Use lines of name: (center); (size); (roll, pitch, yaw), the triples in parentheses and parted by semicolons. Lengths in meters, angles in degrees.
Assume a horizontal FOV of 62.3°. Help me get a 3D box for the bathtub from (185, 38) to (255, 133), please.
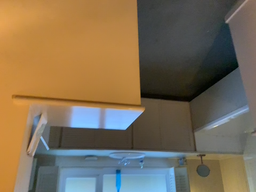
bathtub: (1.480, -0.020, 2.640); (0.770, 0.590, 1.640); (4, 157, -13)

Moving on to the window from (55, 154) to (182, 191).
window: (-0.130, 1.630, 3.360); (1.970, 1.290, 0.420); (5, 157, -14)
